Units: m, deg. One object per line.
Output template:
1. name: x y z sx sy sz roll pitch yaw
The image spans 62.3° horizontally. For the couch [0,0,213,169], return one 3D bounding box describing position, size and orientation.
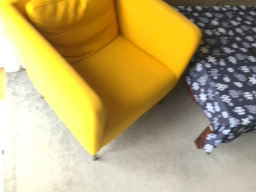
1. couch: -0.170 -0.200 1.300 0.760 0.720 0.780 -34 69 -27
